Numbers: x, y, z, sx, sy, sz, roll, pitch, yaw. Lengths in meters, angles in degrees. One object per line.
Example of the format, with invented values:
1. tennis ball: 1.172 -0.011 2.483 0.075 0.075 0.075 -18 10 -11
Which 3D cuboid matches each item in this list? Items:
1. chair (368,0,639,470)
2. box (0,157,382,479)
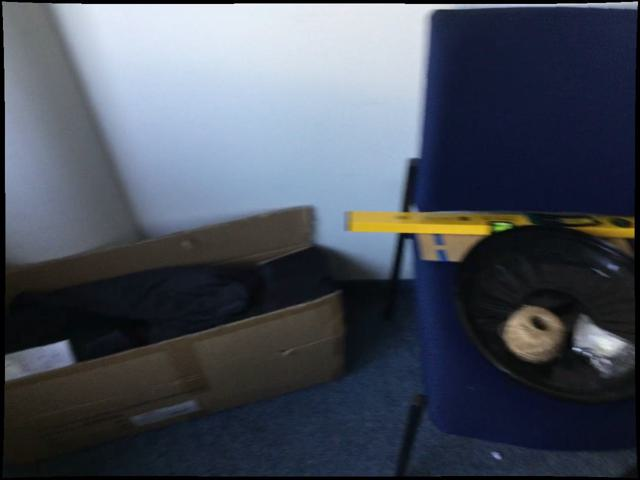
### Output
1. chair: 0.400 -0.030 0.980 0.539 0.500 0.610 7 51 6
2. box: -0.350 0.210 1.330 0.839 0.360 0.450 -22 54 -16
